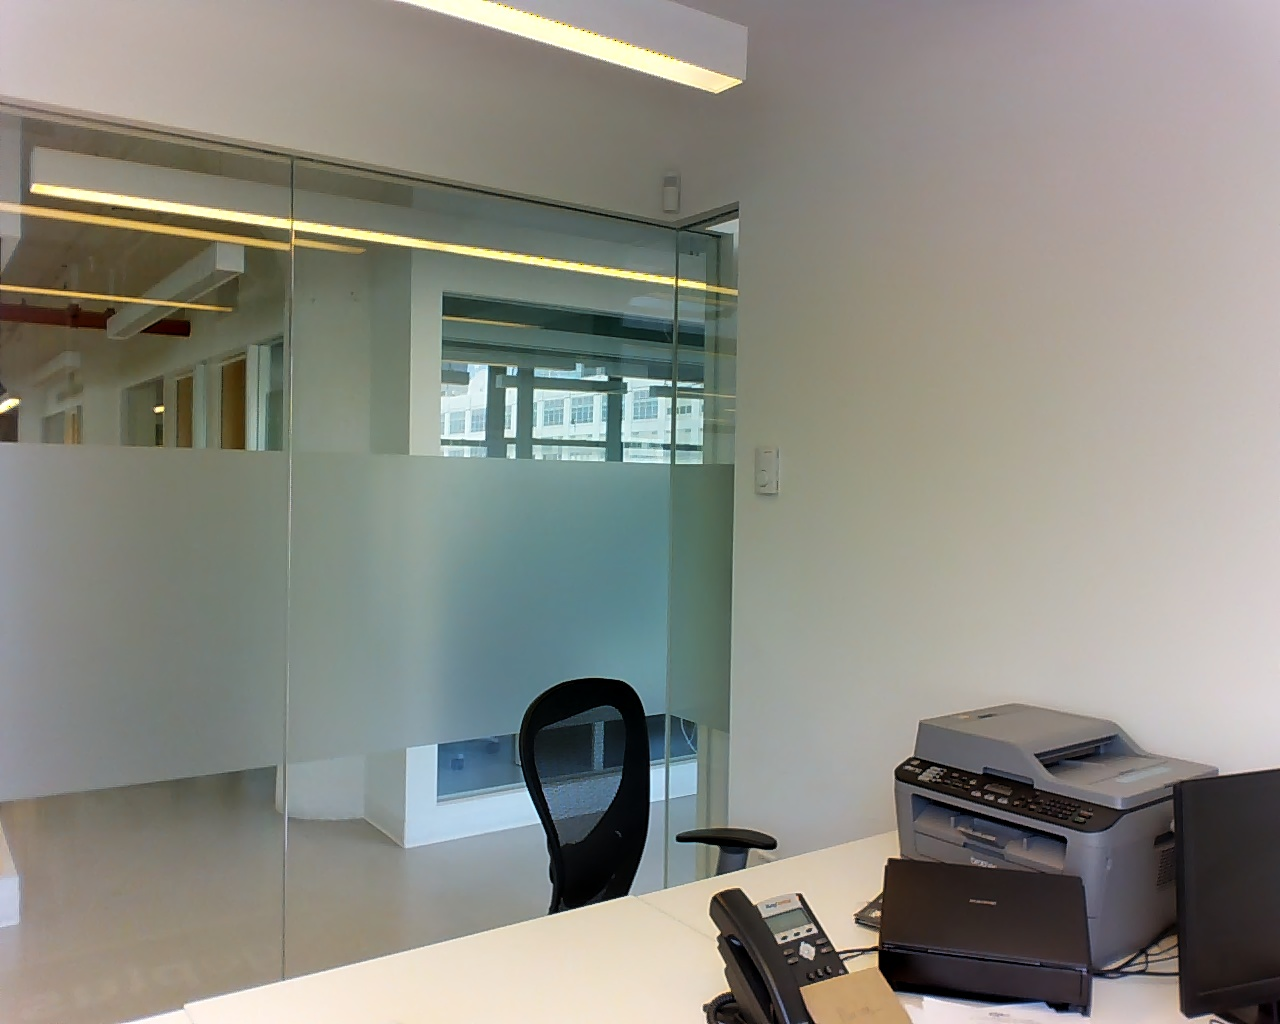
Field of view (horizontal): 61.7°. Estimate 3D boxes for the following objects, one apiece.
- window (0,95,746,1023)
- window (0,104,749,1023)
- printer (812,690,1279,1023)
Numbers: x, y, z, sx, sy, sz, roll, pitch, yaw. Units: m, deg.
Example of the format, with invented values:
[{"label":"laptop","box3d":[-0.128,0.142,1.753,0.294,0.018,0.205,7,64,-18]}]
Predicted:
[{"label":"window","box3d":[-0.830,0.220,2.550,2.690,2.090,0.140,0,1,-36]},{"label":"window","box3d":[-0.830,0.230,2.570,2.650,2.060,0.220,0,1,-36]},{"label":"printer","box3d":[0.710,0.530,1.750,0.570,0.330,0.620,0,1,-36]}]
